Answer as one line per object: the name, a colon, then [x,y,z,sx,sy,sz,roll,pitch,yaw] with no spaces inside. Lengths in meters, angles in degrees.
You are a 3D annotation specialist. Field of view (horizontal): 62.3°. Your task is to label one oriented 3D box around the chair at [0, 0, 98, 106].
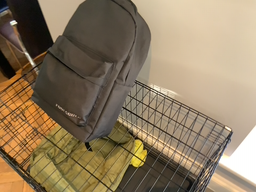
chair: [-0.620,-0.510,1.500,0.410,1.000,0.580,-36,58,-23]
